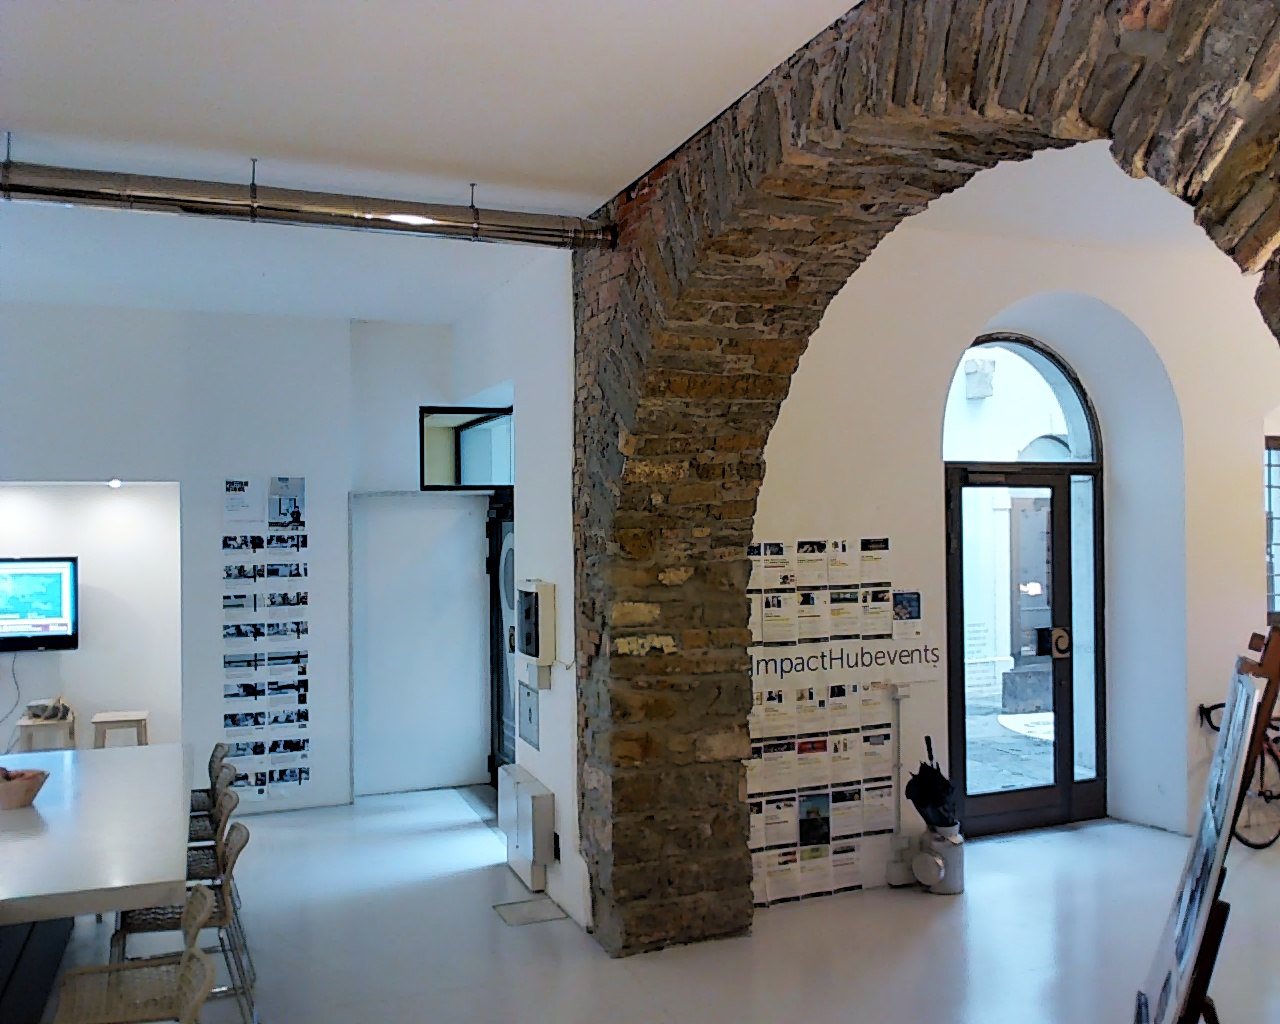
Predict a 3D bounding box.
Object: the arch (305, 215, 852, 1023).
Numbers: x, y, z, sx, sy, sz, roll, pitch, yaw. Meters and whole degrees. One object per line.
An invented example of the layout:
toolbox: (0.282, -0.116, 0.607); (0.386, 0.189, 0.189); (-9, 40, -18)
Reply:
arch: (-0.650, 0.480, 6.150); (0.700, 3.411, 3.919); (0, 0, -44)
